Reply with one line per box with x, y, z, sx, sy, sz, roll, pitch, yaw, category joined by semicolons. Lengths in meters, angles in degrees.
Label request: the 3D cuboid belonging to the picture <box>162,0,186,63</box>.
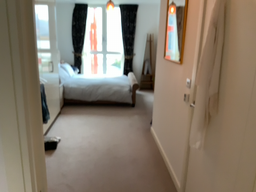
0.520;-0.880;2.450;0.030;0.900;0.770;1;15;-4;picture
